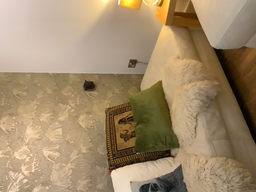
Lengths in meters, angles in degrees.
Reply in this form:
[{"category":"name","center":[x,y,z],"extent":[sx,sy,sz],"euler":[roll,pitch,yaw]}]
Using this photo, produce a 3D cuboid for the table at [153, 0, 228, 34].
[{"category":"table","center":[0.470,-0.700,1.670],"extent":[0.310,0.440,0.280],"euler":[-104,18,-50]}]
